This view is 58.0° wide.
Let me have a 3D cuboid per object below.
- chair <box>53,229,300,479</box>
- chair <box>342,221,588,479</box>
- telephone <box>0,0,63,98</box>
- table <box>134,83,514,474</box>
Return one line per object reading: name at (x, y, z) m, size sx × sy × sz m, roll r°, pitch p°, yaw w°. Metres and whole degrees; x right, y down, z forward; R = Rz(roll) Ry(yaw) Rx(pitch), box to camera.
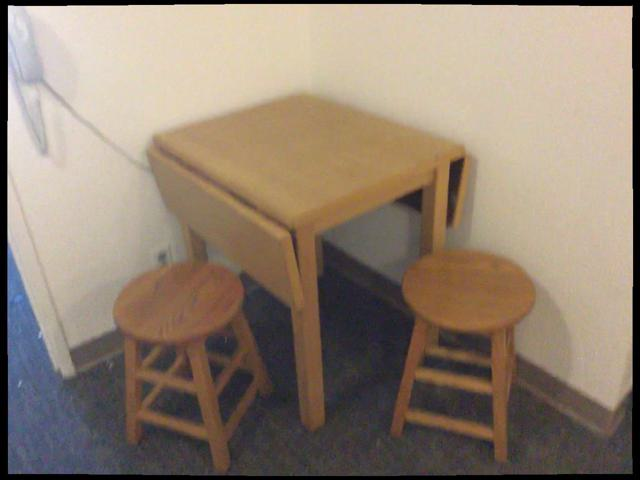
chair at (-0.419, 0.351, 1.750) m, size 0.470 × 0.471 × 0.510 m, roll -26°, pitch 39°, yaw -31°
chair at (0.409, 0.321, 1.730) m, size 0.480 × 0.481 × 0.470 m, roll -26°, pitch 39°, yaw -31°
telephone at (-0.798, -0.521, 1.560) m, size 0.110 × 0.230 × 0.090 m, roll -27°, pitch 39°, yaw -31°
table at (-0.010, 0.030, 1.960) m, size 0.719 × 0.771 × 0.950 m, roll -26°, pitch 39°, yaw -31°
